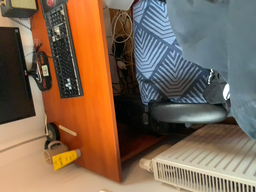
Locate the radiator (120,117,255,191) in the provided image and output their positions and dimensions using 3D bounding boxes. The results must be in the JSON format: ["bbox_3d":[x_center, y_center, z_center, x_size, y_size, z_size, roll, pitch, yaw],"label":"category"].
[{"bbox_3d":[0.480,0.280,0.980,0.780,0.670,0.140,1,101,43],"label":"radiator"}]
